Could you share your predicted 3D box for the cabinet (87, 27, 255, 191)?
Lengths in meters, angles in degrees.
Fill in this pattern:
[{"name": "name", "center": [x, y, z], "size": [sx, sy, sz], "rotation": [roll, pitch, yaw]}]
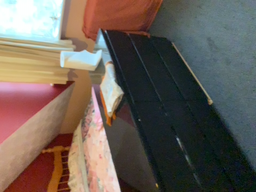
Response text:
[{"name": "cabinet", "center": [0.240, 0.170, 1.720], "size": [0.490, 0.760, 1.600], "rotation": [-61, 39, 43]}]
